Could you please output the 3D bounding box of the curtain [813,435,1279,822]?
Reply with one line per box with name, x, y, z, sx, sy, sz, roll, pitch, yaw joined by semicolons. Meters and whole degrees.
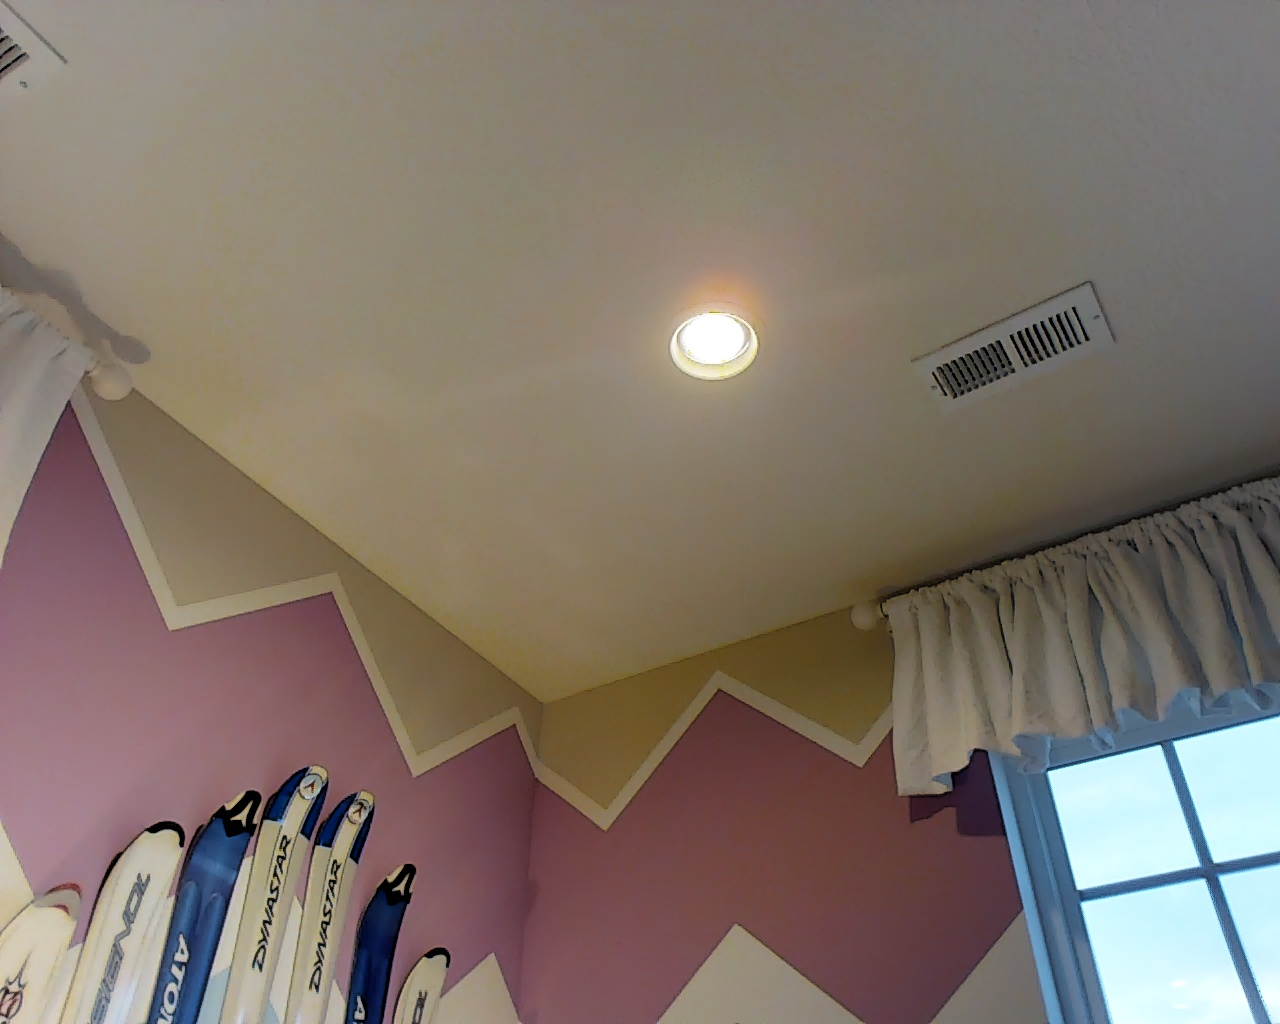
curtain;0.840;0.210;1.960;1.010;0.460;0.170;-20;-46;23
